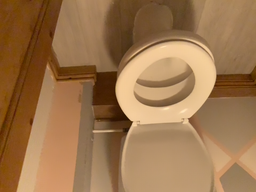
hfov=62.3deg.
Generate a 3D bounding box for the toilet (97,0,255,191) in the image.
[{"bbox_3d":[0.170,0.070,0.900,0.470,0.810,0.700,-2,145,0],"label":"toilet"}]
